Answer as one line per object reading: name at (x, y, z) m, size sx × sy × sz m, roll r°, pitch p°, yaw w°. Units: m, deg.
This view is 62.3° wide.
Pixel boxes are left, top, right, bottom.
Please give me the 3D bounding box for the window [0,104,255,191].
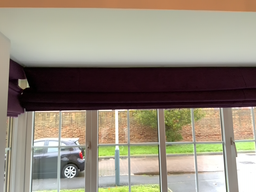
window at (0.200, 0.570, 1.790) m, size 2.410 × 0.990 × 0.060 m, roll 0°, pitch -7°, yaw -5°
